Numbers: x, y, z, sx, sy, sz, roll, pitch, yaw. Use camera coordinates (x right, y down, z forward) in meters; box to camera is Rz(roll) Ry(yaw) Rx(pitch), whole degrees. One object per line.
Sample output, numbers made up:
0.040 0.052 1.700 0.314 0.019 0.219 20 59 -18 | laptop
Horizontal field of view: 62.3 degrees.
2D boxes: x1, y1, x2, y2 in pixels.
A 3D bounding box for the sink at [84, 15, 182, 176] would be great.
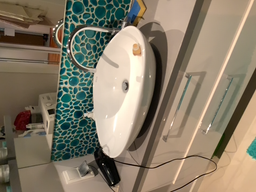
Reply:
-0.030 -0.010 0.980 0.380 0.130 0.610 44 127 47 | sink
